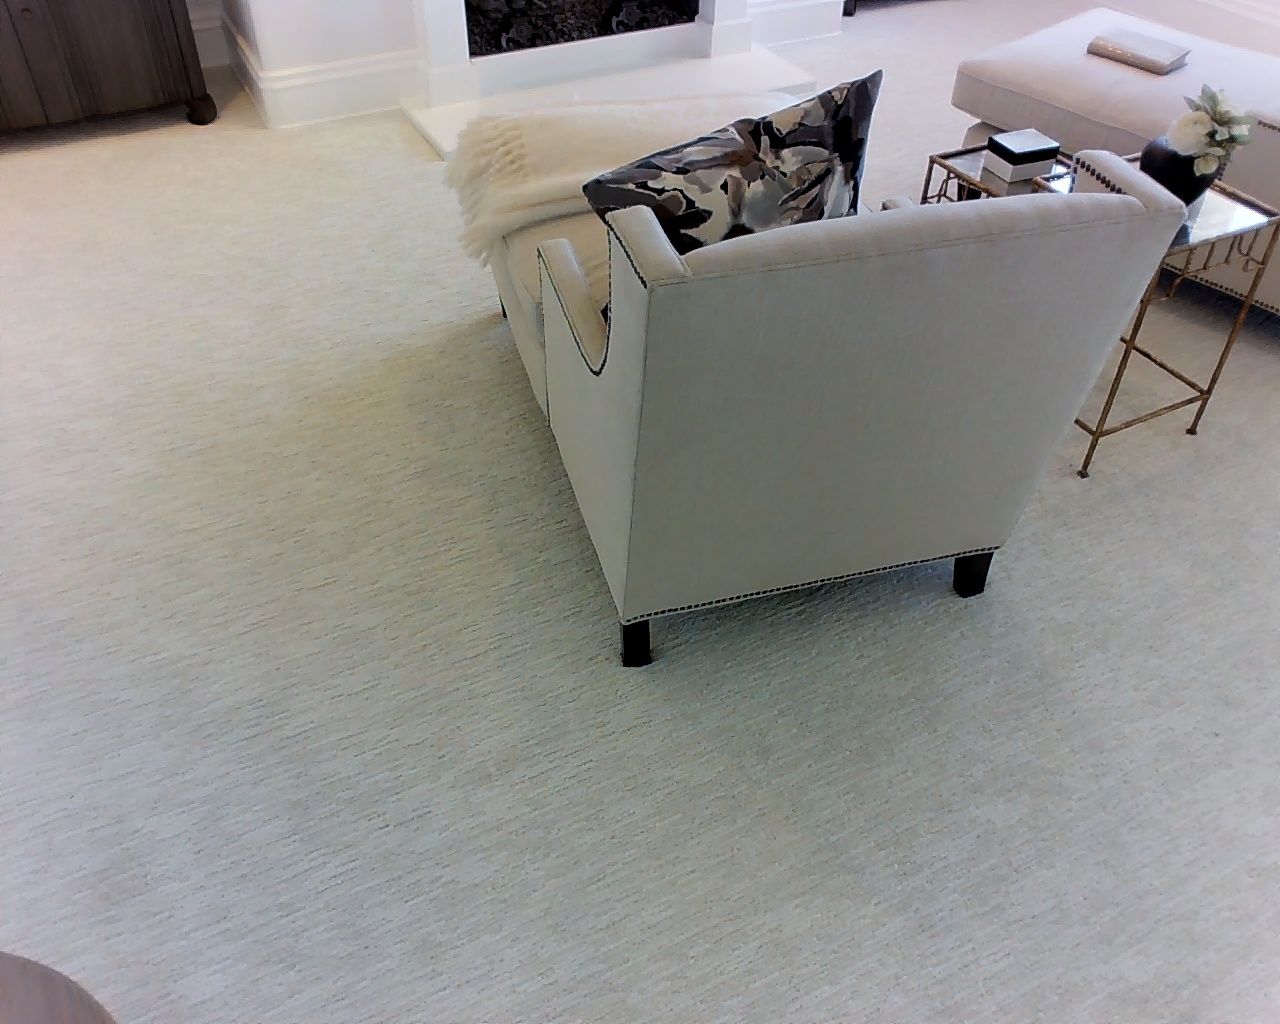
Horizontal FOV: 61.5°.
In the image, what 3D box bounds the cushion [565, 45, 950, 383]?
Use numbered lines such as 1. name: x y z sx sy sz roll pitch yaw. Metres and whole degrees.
1. cushion: 0.210 -0.550 1.950 0.580 0.480 0.330 -11 22 -13
